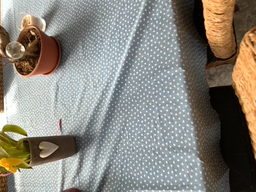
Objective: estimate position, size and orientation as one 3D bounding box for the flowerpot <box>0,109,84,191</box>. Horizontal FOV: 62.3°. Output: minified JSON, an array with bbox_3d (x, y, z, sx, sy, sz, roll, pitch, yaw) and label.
[{"bbox_3d":[-0.370,0.180,0.690,0.190,0.410,0.250,-10,81,33],"label":"flowerpot"}]

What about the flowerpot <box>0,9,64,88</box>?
[{"bbox_3d":[-0.540,-0.180,0.700,0.190,0.640,0.210,-14,79,32],"label":"flowerpot"}]
